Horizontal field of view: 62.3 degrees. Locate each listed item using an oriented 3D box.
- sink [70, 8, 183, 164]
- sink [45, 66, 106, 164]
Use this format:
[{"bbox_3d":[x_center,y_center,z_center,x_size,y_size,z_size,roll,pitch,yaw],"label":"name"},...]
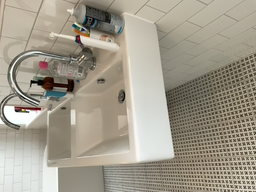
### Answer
[{"bbox_3d":[-0.070,0.020,0.940,0.550,0.190,0.510,-27,64,53],"label":"sink"},{"bbox_3d":[-0.370,0.160,1.370,0.540,0.190,0.510,-27,64,53],"label":"sink"}]
